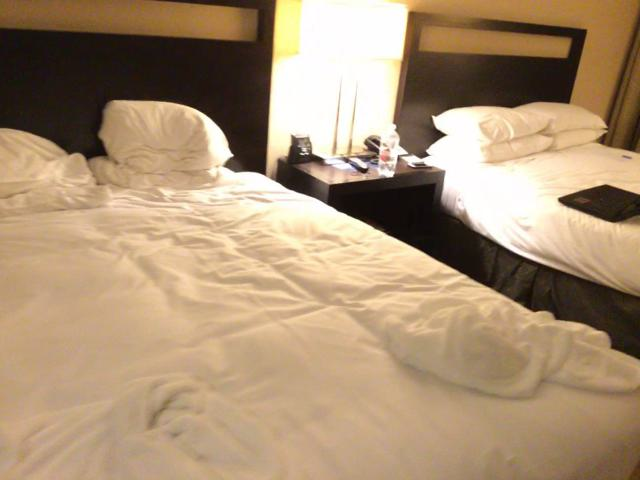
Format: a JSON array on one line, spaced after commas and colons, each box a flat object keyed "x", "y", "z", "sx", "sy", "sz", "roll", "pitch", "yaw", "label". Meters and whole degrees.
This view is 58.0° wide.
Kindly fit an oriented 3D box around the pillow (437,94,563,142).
[{"x": 1.060, "y": -0.730, "z": 3.410, "sx": 0.620, "sy": 0.200, "sz": 0.370, "roll": -9, "pitch": 25, "yaw": -32, "label": "pillow"}]

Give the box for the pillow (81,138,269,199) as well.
[{"x": -0.590, "y": -0.310, "z": 2.400, "sx": 0.690, "sy": 0.140, "sz": 0.290, "roll": -9, "pitch": 25, "yaw": -32, "label": "pillow"}]

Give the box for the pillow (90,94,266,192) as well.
[{"x": -0.580, "y": -0.420, "z": 2.410, "sx": 0.650, "sy": 0.330, "sz": 0.240, "roll": -9, "pitch": 25, "yaw": -32, "label": "pillow"}]

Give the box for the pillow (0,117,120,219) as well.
[{"x": -1.060, "y": -0.260, "z": 1.990, "sx": 0.610, "sy": 0.240, "sz": 0.410, "roll": -9, "pitch": 25, "yaw": -32, "label": "pillow"}]
